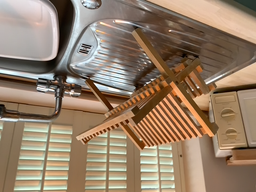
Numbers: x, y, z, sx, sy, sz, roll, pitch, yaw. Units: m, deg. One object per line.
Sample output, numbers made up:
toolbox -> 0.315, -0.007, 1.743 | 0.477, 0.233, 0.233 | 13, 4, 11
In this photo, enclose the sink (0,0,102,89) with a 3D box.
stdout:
sink -> -0.360, -0.220, 0.580 | 0.440, 0.170, 0.480 | 10, 156, -25
